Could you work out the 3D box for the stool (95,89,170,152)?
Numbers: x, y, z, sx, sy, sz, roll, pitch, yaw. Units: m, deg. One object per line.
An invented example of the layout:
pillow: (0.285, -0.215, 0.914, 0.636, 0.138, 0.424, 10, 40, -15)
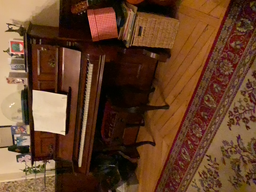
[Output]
stool: (0.020, 0.240, 2.100, 0.290, 0.570, 0.540, -116, 33, -48)
